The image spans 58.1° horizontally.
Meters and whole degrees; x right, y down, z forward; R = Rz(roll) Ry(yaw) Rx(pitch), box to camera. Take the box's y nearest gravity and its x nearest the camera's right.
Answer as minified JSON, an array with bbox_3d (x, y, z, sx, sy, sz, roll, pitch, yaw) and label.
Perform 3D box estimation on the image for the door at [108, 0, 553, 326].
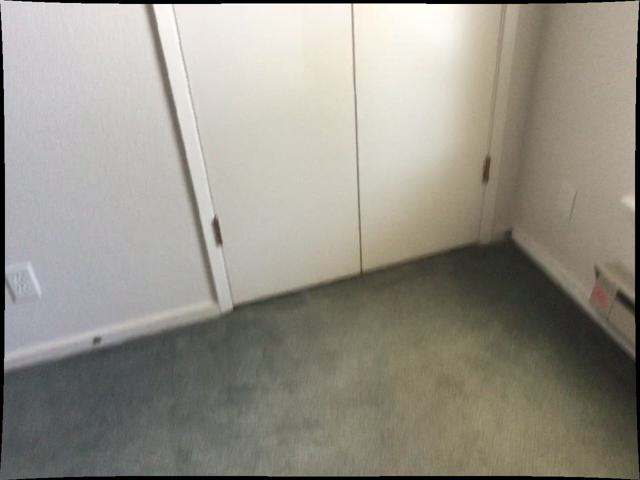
[{"bbox_3d":[0.070,-0.721,1.430,1.178,2.092,0.100,-15,38,-12],"label":"door"}]
